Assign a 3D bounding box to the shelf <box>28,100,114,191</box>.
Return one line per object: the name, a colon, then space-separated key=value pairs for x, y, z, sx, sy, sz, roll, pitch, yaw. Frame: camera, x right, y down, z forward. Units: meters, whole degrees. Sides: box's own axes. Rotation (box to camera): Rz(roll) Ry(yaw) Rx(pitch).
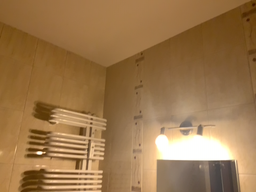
shelf: x=-0.410 y=0.650 z=1.560 sx=0.180 sy=1.130 sz=0.560 roll=-15 pitch=-25 yaw=43
